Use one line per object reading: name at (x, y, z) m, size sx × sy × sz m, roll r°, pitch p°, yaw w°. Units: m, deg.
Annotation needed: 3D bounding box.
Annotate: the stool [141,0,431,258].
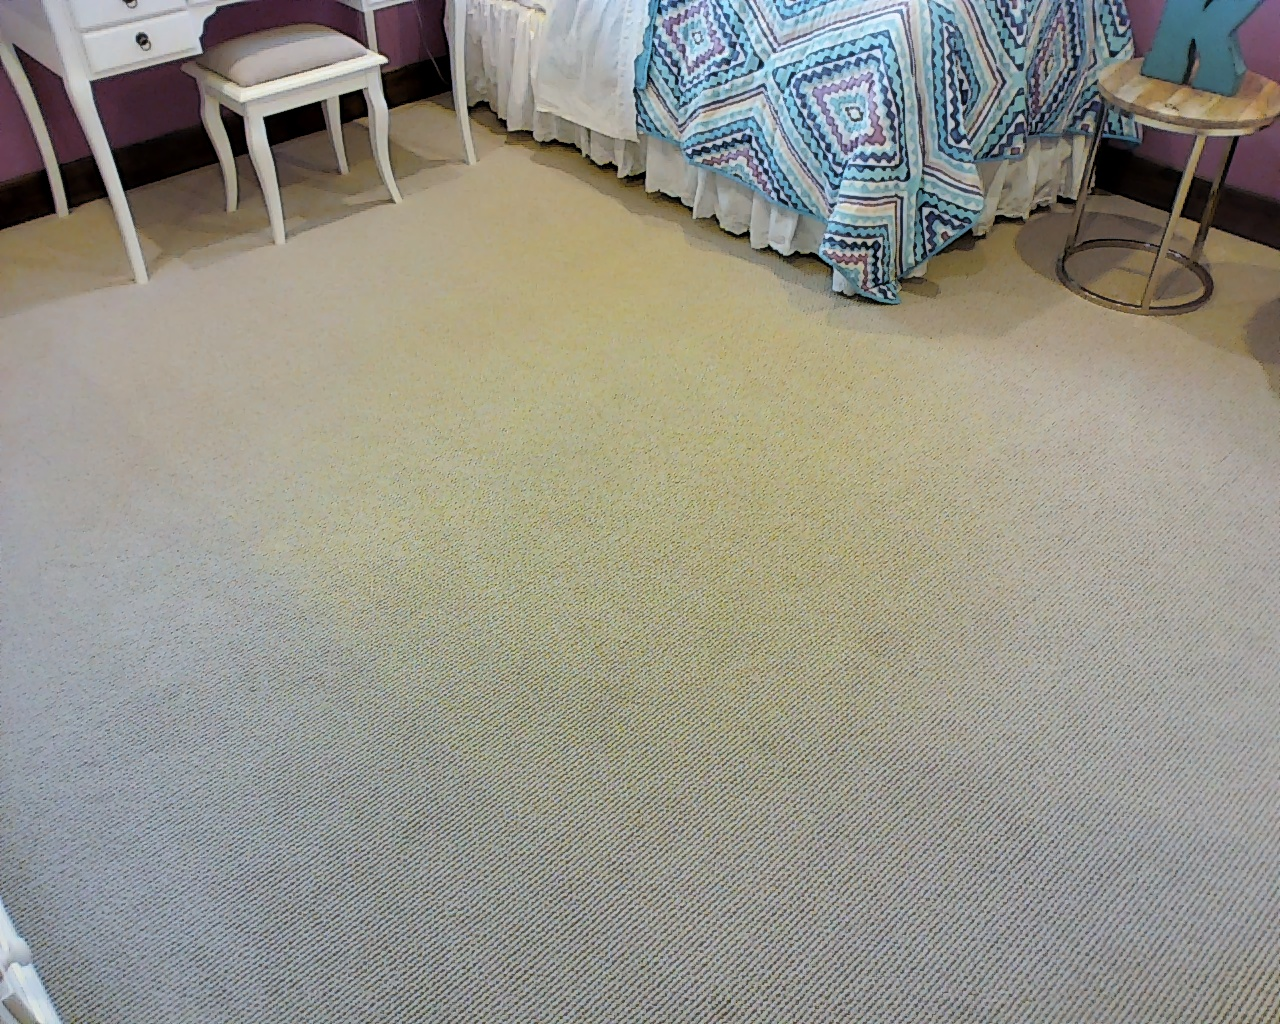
stool at (-1.000, -1.130, 3.090) m, size 0.540 × 0.490 × 0.490 m, roll -31°, pitch 50°, yaw -32°
